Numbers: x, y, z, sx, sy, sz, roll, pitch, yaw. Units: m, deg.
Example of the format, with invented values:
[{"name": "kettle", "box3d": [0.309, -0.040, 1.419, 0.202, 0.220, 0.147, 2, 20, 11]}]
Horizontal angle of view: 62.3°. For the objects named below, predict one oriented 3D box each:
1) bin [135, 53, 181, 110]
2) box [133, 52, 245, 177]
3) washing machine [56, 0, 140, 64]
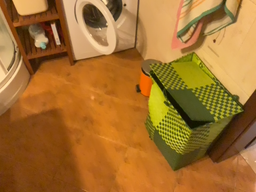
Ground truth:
[{"name": "bin", "box3d": [0.210, -0.110, 1.610, 0.220, 0.300, 0.250, -16, 55, -14]}, {"name": "box", "box3d": [0.300, 0.120, 1.310, 0.350, 0.500, 0.500, -16, 55, -14]}, {"name": "washing machine", "box3d": [-0.280, -0.820, 1.800, 0.590, 0.820, 0.530, -17, 55, -16]}]
